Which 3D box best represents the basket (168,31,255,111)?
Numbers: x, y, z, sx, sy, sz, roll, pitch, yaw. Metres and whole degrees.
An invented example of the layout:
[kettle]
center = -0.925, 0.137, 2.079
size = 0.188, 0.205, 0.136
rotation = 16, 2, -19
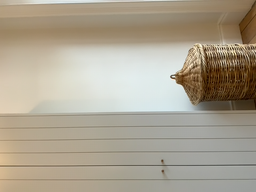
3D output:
[basket]
center = 0.780, -0.180, 1.770
size = 0.500, 0.780, 0.500
rotation = 86, -176, -73
